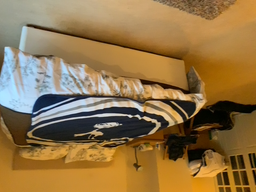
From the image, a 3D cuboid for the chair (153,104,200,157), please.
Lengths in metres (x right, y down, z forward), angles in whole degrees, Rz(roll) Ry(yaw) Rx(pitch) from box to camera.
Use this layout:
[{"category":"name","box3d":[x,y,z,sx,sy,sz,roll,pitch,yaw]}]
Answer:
[{"category":"chair","box3d":[0.770,0.580,3.470,0.460,0.480,0.760,7,-113,-26]}]

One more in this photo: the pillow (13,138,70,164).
[{"category":"pillow","box3d":[-1.090,0.710,2.670,0.600,0.430,0.150,9,-129,-25]}]

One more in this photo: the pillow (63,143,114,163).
[{"category":"pillow","box3d":[-0.550,0.810,3.000,0.640,0.340,0.070,8,-147,-27]}]
